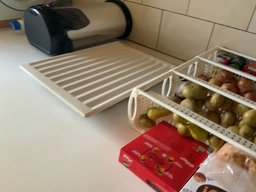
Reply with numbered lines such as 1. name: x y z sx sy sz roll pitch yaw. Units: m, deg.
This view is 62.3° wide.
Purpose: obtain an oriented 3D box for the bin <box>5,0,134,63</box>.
1. bin: -0.370 -0.520 1.470 0.470 0.680 0.280 31 130 32

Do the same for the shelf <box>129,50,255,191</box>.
1. shelf: 0.470 0.050 0.890 0.610 0.700 0.170 30 129 32
